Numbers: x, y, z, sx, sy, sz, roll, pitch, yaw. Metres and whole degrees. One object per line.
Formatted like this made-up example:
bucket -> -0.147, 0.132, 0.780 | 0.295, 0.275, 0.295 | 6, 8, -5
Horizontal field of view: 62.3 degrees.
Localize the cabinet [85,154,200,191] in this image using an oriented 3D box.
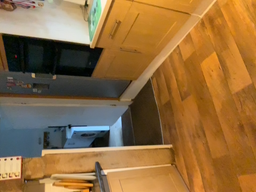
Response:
cabinet -> 0.110, 0.910, 2.040 | 0.620, 0.900, 0.490 | 130, 136, -55
